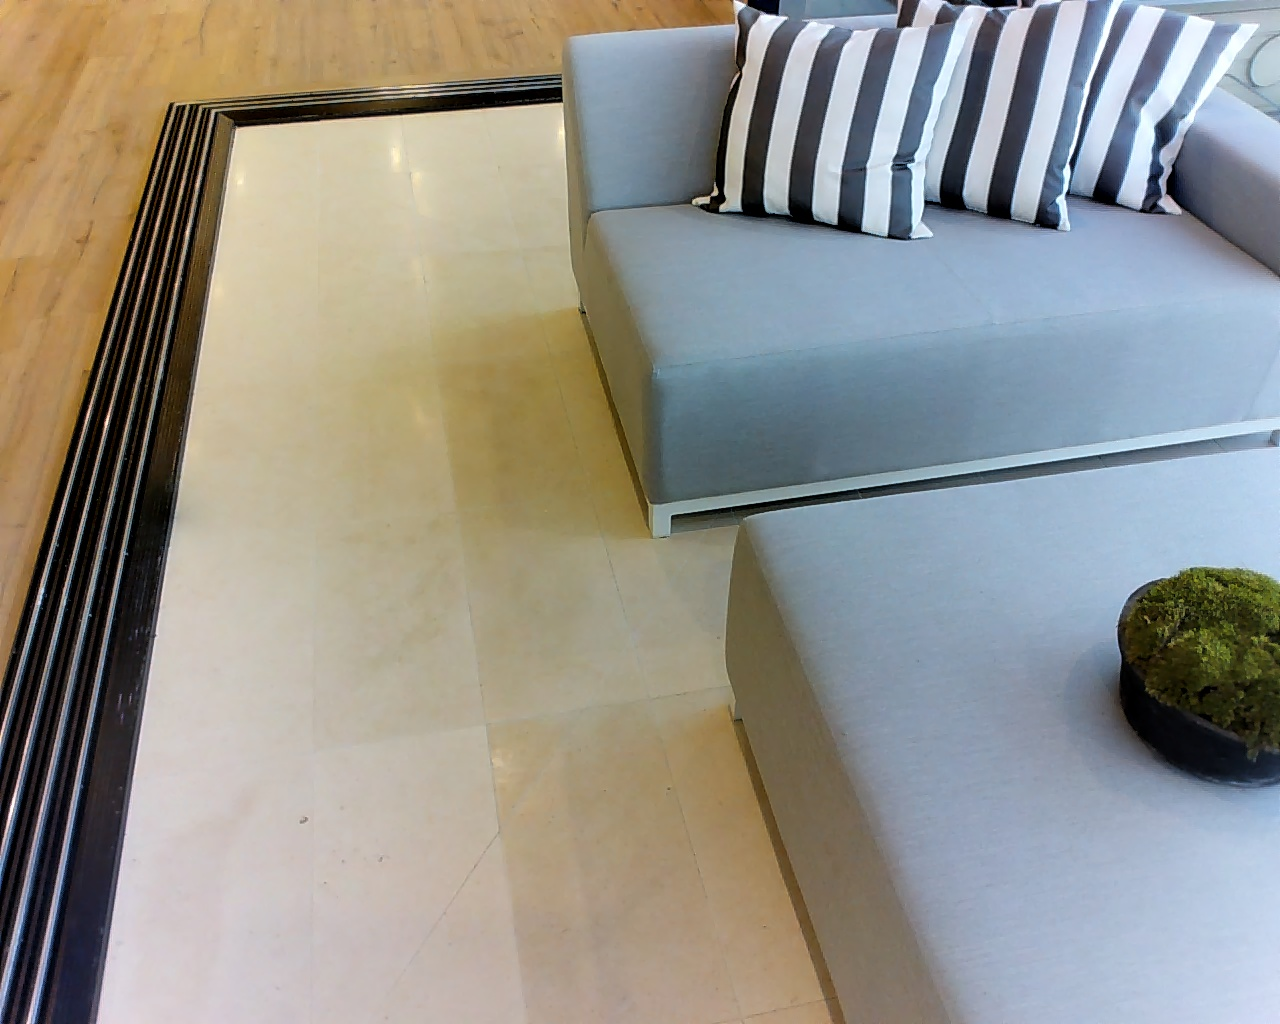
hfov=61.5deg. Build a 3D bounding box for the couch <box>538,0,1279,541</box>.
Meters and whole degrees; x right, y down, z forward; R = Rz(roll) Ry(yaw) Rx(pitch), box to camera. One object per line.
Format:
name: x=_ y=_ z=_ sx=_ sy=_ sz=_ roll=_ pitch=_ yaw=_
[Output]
couch: x=0.700 y=-0.710 z=2.640 sx=1.710 sy=0.750 sz=1.170 roll=-8 pitch=42 yaw=-9
